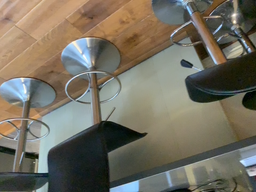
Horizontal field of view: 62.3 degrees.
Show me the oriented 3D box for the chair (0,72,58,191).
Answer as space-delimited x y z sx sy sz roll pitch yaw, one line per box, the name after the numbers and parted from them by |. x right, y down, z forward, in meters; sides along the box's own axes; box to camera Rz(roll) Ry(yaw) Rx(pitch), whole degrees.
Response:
-0.790 0.430 1.370 0.490 1.080 0.400 19 137 -37 | chair

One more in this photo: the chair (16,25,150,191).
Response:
-0.250 0.190 1.210 0.450 1.020 0.450 -27 143 24 | chair

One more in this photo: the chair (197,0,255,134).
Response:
0.740 -0.170 1.230 0.330 0.690 0.360 -31 142 29 | chair
